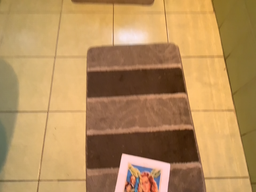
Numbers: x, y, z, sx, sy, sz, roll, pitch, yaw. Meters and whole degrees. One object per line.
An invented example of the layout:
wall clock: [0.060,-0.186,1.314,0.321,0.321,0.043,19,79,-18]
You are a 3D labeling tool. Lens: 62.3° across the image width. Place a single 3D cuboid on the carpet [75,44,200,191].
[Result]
carpet: [0.040,0.160,0.970,0.500,0.060,0.890,1,69,-2]
